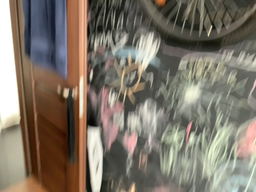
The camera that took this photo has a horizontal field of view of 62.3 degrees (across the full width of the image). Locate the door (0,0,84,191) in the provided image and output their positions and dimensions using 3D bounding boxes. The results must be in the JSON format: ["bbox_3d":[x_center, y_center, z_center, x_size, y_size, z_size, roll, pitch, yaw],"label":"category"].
[{"bbox_3d":[-0.660,-0.090,1.610,0.870,2.130,0.100,19,24,35],"label":"door"}]
